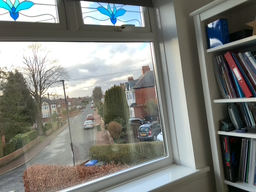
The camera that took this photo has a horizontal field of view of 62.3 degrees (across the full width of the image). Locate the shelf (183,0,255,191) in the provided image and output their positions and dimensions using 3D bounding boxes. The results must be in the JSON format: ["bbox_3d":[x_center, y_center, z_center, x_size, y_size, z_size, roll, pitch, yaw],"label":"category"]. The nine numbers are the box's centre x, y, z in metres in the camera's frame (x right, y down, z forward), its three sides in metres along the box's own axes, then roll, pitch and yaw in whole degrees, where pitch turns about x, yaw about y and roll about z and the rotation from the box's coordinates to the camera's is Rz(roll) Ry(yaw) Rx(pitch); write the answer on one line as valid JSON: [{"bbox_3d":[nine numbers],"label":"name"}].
[{"bbox_3d":[0.840,0.310,1.310,0.330,1.880,0.690,-8,1,-30],"label":"shelf"}]
